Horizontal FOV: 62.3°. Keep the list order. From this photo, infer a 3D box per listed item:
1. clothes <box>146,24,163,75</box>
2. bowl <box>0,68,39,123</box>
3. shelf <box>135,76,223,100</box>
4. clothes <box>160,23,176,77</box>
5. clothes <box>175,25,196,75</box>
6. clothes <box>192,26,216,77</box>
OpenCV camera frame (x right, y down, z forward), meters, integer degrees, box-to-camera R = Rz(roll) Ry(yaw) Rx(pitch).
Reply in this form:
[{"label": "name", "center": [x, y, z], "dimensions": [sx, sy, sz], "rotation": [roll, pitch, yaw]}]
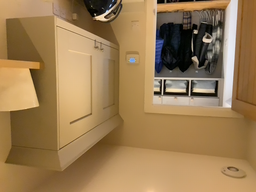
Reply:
[{"label": "clothes", "center": [0.500, -0.830, 3.910], "dimensions": [0.240, 0.880, 0.320], "rotation": [3, -173, 14]}, {"label": "bowl", "center": [-0.630, -0.020, 1.070], "dimensions": [0.230, 0.240, 0.240], "rotation": [3, -173, 15]}, {"label": "shelf", "center": [0.900, -0.170, 3.910], "dimensions": [1.470, 0.350, 0.440], "rotation": [3, -173, 14]}, {"label": "clothes", "center": [0.730, -0.810, 3.860], "dimensions": [0.240, 0.920, 0.310], "rotation": [3, -173, 13]}, {"label": "clothes", "center": [1.020, -0.810, 3.800], "dimensions": [0.290, 0.850, 0.270], "rotation": [3, -173, 10]}, {"label": "clothes", "center": [1.320, -0.760, 3.730], "dimensions": [0.330, 0.820, 0.350], "rotation": [3, -173, 15]}]
